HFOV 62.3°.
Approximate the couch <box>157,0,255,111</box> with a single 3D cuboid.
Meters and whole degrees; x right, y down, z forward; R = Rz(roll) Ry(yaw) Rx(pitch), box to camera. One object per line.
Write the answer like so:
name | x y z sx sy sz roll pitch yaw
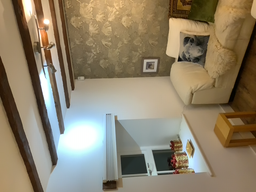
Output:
couch | 0.960 -0.950 2.790 1.030 0.730 2.060 -100 10 -55
